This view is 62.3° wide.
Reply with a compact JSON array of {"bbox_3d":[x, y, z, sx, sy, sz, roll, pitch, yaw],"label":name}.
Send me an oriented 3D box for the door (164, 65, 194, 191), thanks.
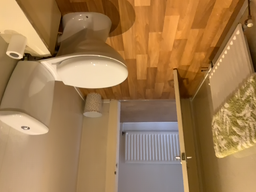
[{"bbox_3d":[0.540,0.750,2.070,0.120,2.030,0.670,-8,156,19],"label":"door"}]
